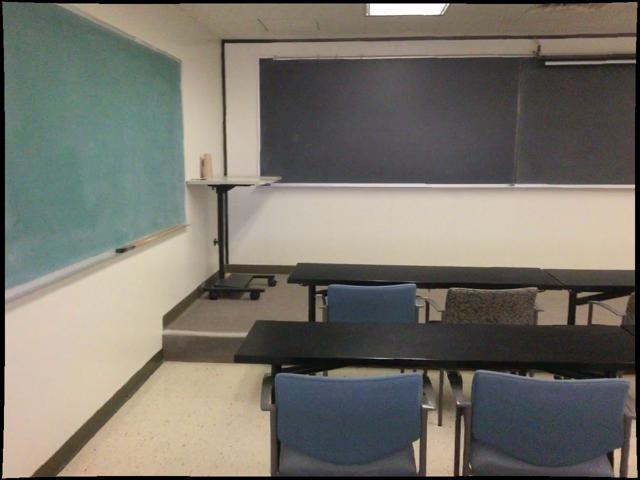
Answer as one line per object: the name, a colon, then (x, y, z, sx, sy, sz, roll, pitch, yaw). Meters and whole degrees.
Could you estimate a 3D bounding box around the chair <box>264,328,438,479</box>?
chair: (0.100, 0.782, 2.070, 0.529, 0.782, 0.530, 1, 9, 2)

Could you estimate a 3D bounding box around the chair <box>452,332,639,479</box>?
chair: (0.758, 0.772, 2.030, 0.519, 0.742, 0.490, 2, 9, 9)
